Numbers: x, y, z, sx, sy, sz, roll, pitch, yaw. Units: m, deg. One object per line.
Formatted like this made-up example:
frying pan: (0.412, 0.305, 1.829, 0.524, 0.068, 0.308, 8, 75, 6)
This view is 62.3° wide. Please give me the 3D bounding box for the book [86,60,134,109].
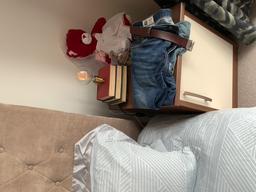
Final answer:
book: (-0.100, -0.050, 1.160, 0.220, 0.150, 0.200, -13, 70, 50)
